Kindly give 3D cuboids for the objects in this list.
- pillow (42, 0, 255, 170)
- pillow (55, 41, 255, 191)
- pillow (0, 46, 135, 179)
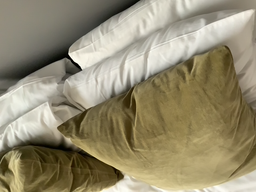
[{"bbox_3d":[0.140,-0.070,0.630,0.620,0.430,0.230,-24,102,32],"label":"pillow"},{"bbox_3d":[0.130,0.130,0.550,0.520,0.460,0.190,-20,116,32],"label":"pillow"},{"bbox_3d":[-0.360,0.090,0.910,0.670,0.440,0.200,-22,110,32],"label":"pillow"}]
